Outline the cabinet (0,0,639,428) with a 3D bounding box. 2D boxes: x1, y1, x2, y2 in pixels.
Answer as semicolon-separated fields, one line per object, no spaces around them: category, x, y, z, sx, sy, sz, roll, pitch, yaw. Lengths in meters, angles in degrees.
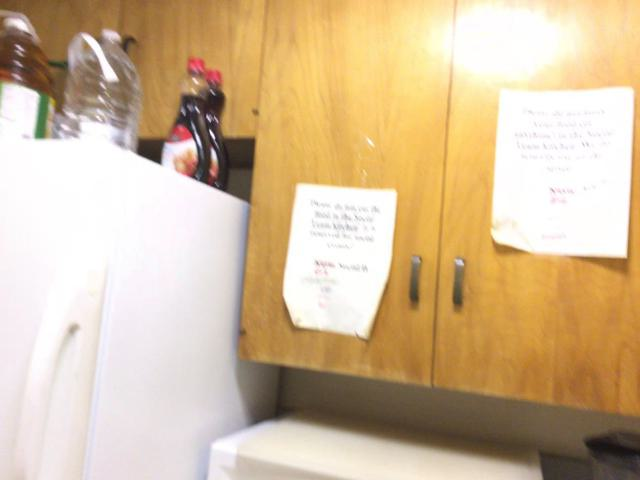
cabinet;0.240;-0.220;1.060;2.420;0.980;0.130;3;-5;21
